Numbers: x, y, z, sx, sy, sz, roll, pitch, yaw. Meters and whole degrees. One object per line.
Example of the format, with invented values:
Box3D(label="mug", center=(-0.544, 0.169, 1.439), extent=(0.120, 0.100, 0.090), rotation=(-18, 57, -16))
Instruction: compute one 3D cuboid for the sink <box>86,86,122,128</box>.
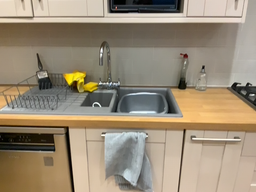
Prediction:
Box3D(label="sink", center=(-0.150, 0.060, 1.440), extent=(0.190, 0.160, 0.340), rotation=(1, 20, 2))

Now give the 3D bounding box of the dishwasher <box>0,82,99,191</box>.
Box3D(label="dishwasher", center=(-0.530, 0.430, 1.540), extent=(0.490, 0.910, 0.640), rotation=(1, 20, 2))

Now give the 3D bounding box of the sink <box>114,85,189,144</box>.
Box3D(label="sink", center=(0.130, 0.090, 1.380), extent=(0.390, 0.170, 0.520), rotation=(1, 20, 2))
